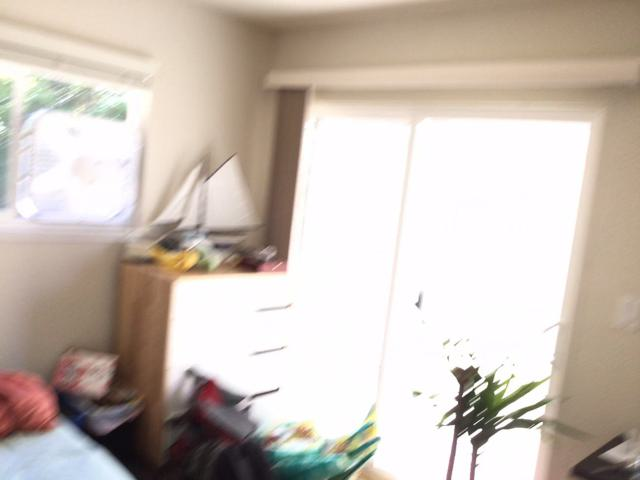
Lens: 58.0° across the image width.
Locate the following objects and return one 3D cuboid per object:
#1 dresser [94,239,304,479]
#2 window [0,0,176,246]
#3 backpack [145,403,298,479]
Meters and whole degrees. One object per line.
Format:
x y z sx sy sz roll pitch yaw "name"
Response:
-0.630 0.560 3.070 0.850 1.060 0.570 2 5 -45 "dresser"
-1.560 -0.520 2.310 0.420 1.050 2.010 7 4 38 "window"
-0.450 1.040 2.650 0.470 0.360 0.490 7 4 38 "backpack"
